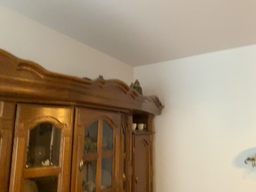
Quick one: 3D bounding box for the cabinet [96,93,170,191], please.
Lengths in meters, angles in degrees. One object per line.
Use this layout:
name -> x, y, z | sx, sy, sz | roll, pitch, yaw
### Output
cabinet -> 0.080, 0.670, 2.380 | 0.550, 1.290, 0.650 | -5, -10, 32
